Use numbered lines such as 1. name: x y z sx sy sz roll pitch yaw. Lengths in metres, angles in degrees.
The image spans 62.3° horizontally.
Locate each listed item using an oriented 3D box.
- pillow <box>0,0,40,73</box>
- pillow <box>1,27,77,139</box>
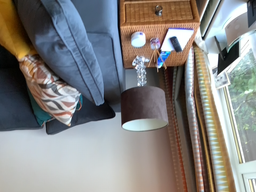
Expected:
1. pillow: -0.550 -0.330 0.950 0.160 0.320 0.280 -22 151 -29
2. pillow: -0.490 -0.050 1.240 0.150 0.450 0.480 -31 160 -26
